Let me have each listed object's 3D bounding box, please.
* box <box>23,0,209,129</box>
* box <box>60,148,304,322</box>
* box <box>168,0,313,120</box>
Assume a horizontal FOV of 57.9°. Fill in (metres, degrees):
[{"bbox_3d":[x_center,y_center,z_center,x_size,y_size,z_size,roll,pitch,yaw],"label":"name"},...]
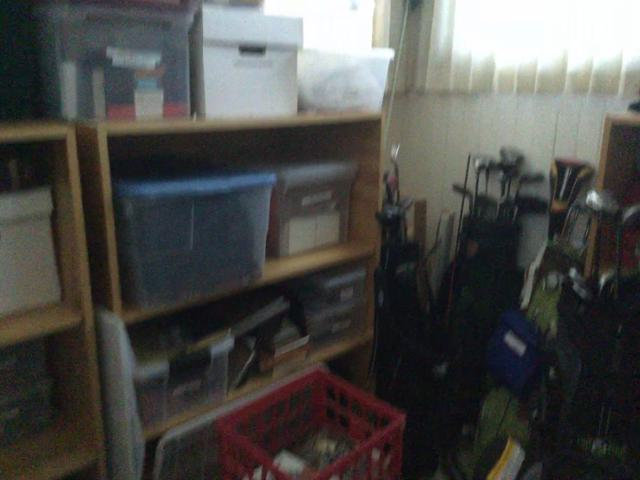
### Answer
[{"bbox_3d":[-0.460,-0.410,1.340,0.340,0.270,0.180,-14,21,-41],"label":"box"},{"bbox_3d":[-0.350,-0.050,1.550,0.520,0.320,0.330,-14,21,-41],"label":"box"},{"bbox_3d":[-0.200,-0.470,1.520,0.320,0.280,0.180,-14,21,-41],"label":"box"}]
